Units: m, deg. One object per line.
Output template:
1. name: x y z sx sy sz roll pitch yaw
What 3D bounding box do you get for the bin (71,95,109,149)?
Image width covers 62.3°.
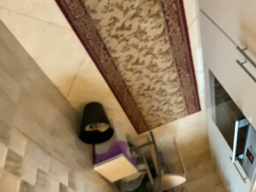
1. bin: -0.320 0.220 1.780 0.190 0.310 0.280 -22 137 7
